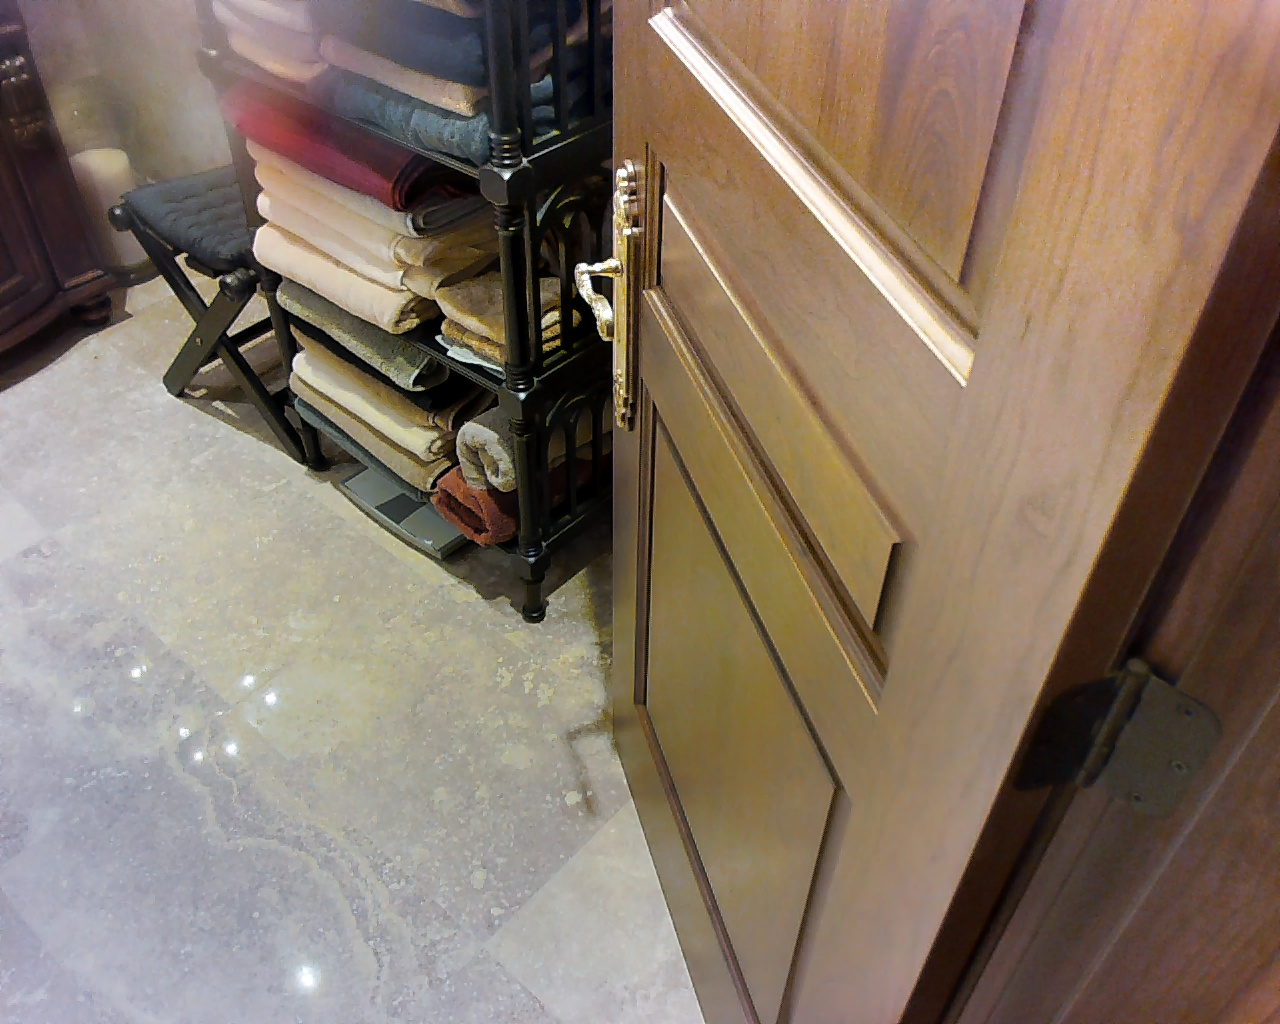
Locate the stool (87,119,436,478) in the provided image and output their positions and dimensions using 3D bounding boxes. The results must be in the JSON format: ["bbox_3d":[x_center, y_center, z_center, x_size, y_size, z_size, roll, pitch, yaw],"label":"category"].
[{"bbox_3d":[-0.770,-0.460,2.240,0.520,0.480,0.380,32,50,29],"label":"stool"}]
